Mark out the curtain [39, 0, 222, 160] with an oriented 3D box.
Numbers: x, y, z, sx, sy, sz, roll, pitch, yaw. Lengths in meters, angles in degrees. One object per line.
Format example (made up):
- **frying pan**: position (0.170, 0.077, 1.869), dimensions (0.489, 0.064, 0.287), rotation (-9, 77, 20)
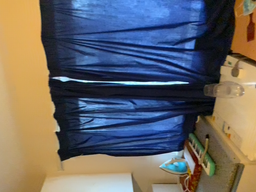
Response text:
- **curtain**: position (0.010, -0.220, 1.400), dimensions (0.070, 1.040, 1.590), rotation (-98, 9, -64)
